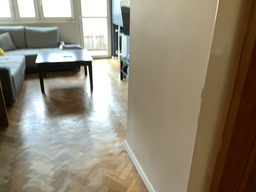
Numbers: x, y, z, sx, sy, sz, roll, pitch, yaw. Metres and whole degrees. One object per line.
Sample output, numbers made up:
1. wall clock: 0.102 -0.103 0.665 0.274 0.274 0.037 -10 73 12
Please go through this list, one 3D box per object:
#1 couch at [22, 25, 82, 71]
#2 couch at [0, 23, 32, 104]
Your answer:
1. couch: -1.700 -1.140 4.850 1.100 0.840 0.920 -6 25 -18
2. couch: -2.430 -0.750 3.850 0.980 0.890 2.480 -6 25 -18
